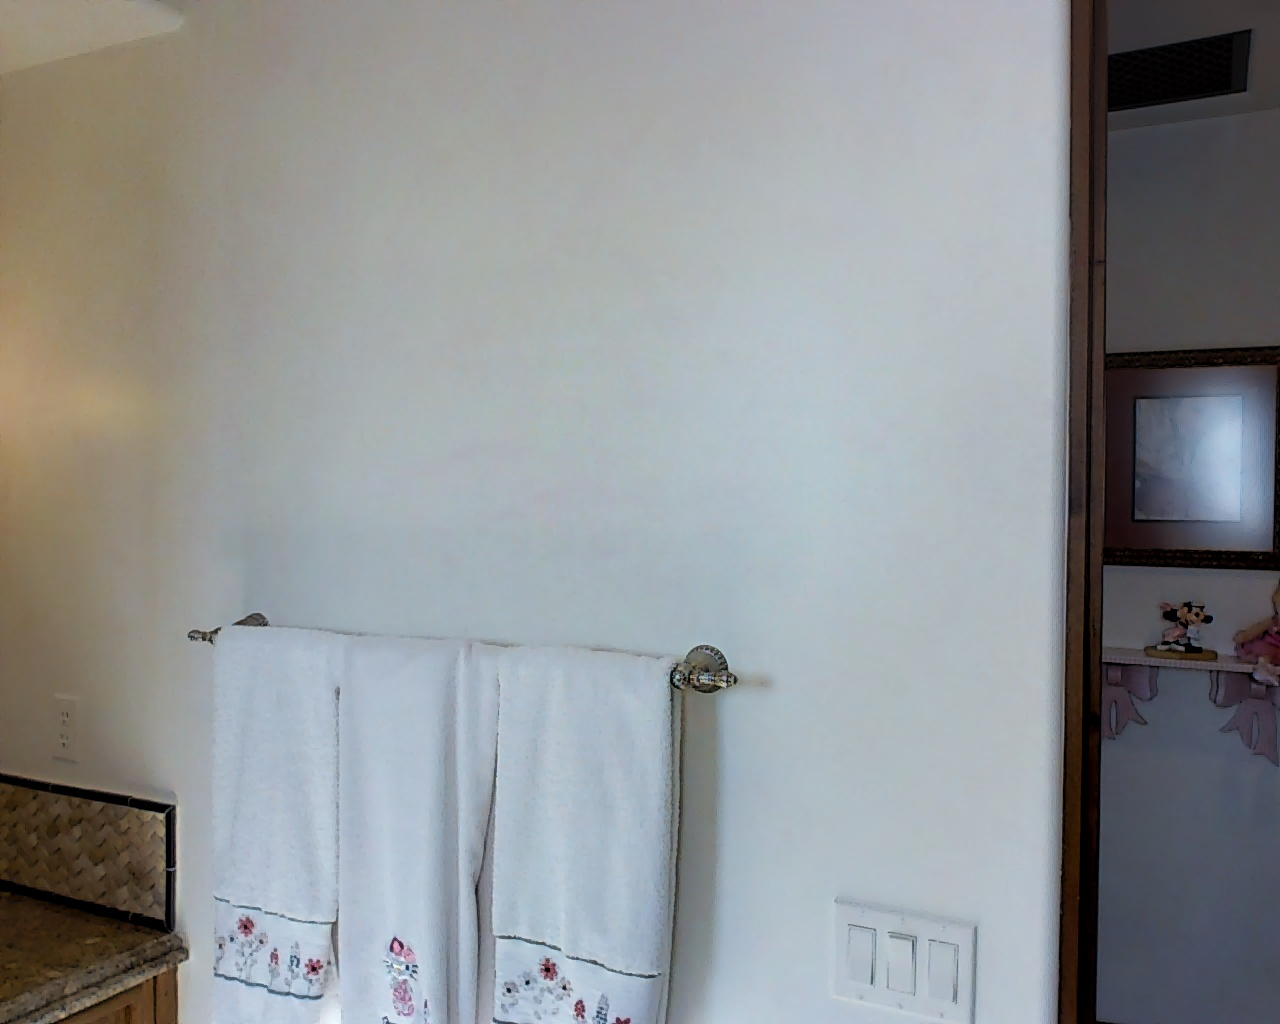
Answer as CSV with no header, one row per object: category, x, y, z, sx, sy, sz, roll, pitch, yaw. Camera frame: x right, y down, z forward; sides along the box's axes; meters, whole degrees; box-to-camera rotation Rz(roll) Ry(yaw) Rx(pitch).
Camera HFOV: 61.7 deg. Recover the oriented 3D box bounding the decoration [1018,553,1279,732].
decoration,1.470,0.340,2.920,0.800,0.430,0.250,1,0,26
